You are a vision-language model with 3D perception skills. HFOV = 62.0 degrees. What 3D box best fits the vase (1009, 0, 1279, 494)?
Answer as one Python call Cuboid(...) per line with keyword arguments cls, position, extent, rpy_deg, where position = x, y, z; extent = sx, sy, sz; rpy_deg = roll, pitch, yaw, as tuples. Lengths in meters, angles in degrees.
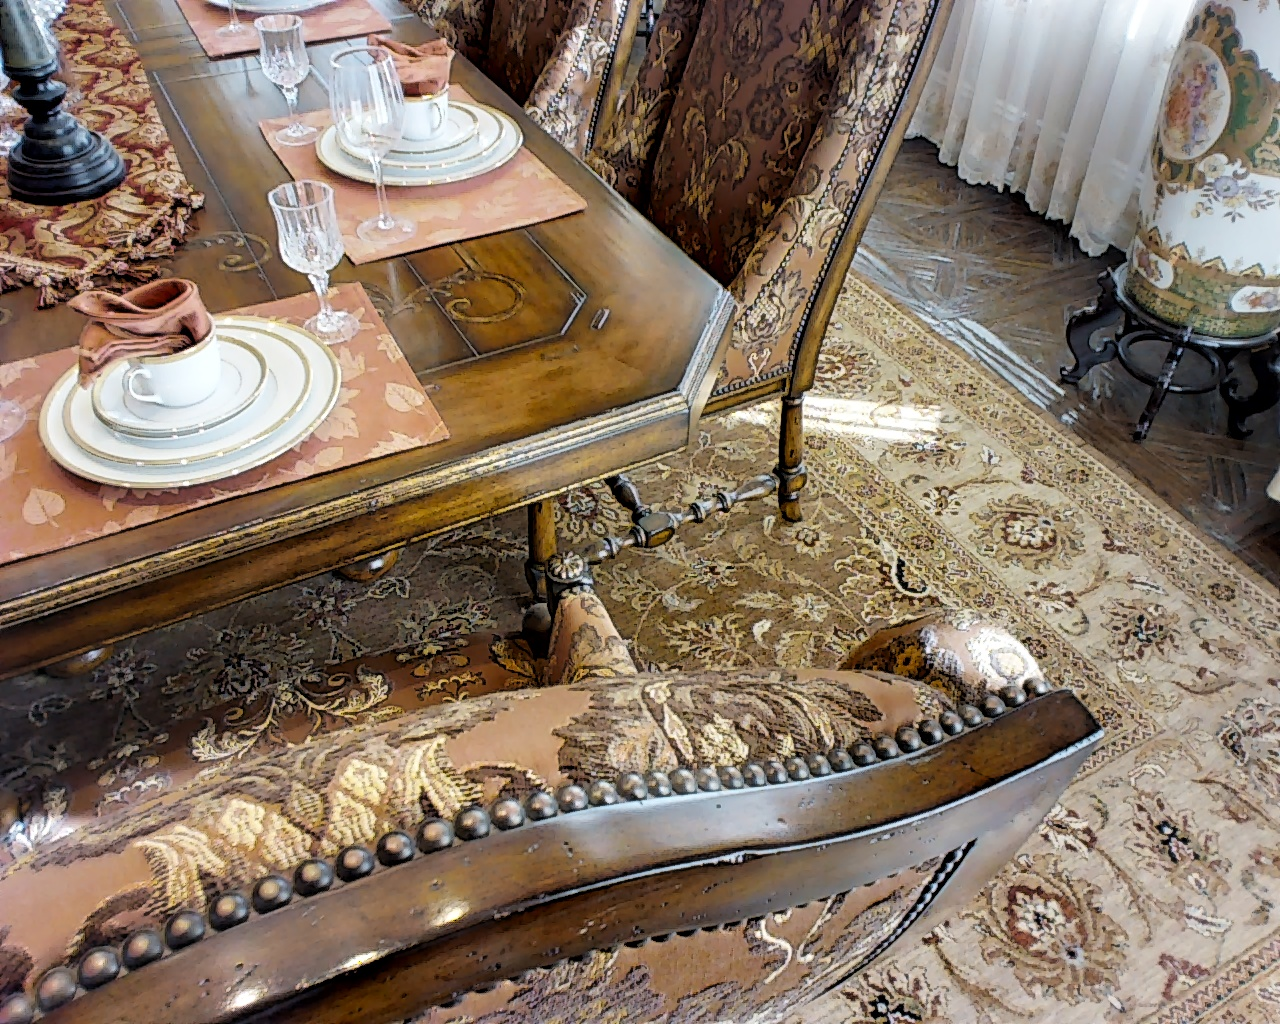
Cuboid(cls="vase", position=(1.280, -0.790, 2.060), extent=(0.500, 1.370, 0.580), rpy_deg=(-17, 46, -20))
